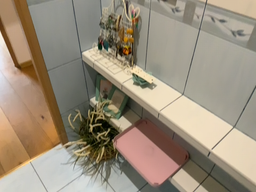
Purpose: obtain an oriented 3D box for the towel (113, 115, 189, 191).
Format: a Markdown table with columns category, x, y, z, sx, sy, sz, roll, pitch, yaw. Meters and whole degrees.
| category | x | y | z | sx | sy | sz | roll | pitch | yaw |
| --- | --- | --- | --- | --- | --- | --- | --- | --- | --- |
| towel | 0.120 | 0.310 | 1.220 | 0.270 | 0.120 | 0.340 | -26 | 50 | -26 |
